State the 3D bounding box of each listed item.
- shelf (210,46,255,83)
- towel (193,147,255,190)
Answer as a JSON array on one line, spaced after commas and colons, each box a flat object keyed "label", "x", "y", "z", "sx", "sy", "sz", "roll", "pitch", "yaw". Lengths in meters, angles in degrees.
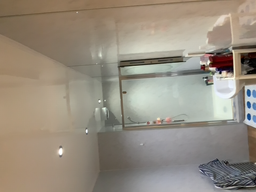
[{"label": "shelf", "x": 1.290, "y": -0.280, "z": 1.830, "sx": 0.390, "sy": 0.990, "sz": 0.250, "roll": -47, "pitch": -47, "yaw": -90}, {"label": "towel", "x": 1.460, "y": 0.940, "z": 2.870, "sx": 0.830, "sy": 0.910, "sz": 0.190, "roll": -93, "pitch": -1, "yaw": -87}]
